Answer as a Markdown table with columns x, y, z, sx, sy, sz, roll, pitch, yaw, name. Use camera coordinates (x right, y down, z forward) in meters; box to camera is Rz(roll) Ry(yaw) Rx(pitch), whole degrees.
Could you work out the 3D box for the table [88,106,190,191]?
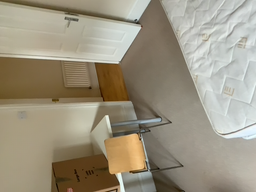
| x | y | z | sx | sy | sz | roll | pitch | yaw | name |
| --- | --- | --- | --- | --- | --- | --- | --- | --- | --- |
| 0.070 | 0.730 | 2.420 | 0.610 | 0.720 | 1.040 | -50 | 49 | 50 | table |
